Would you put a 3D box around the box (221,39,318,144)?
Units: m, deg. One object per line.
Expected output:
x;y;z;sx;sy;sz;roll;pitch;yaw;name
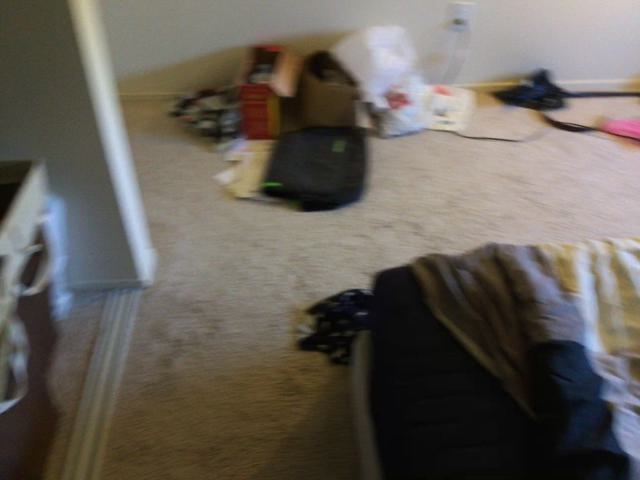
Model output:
-0.200;-0.620;2.400;0.350;0.260;0.350;-5;42;1;box
